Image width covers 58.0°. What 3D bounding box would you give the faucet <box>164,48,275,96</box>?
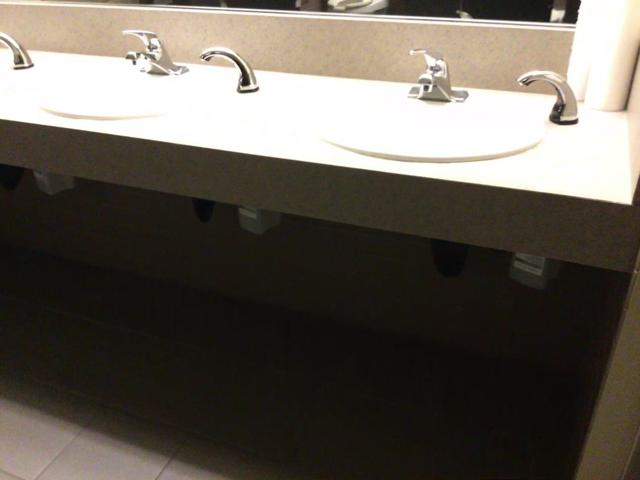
[{"bbox_3d":[-0.270,-0.470,1.600,0.210,0.070,0.230,10,31,19],"label":"faucet"}]

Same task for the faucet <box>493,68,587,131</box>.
[{"bbox_3d":[0.510,-0.330,1.330,0.180,0.070,0.240,10,31,19],"label":"faucet"}]

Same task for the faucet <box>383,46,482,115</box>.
[{"bbox_3d":[0.280,-0.400,1.430,0.190,0.110,0.200,11,31,21],"label":"faucet"}]

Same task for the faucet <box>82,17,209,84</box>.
[{"bbox_3d":[-0.500,-0.560,1.690,0.240,0.130,0.250,10,31,19],"label":"faucet"}]
